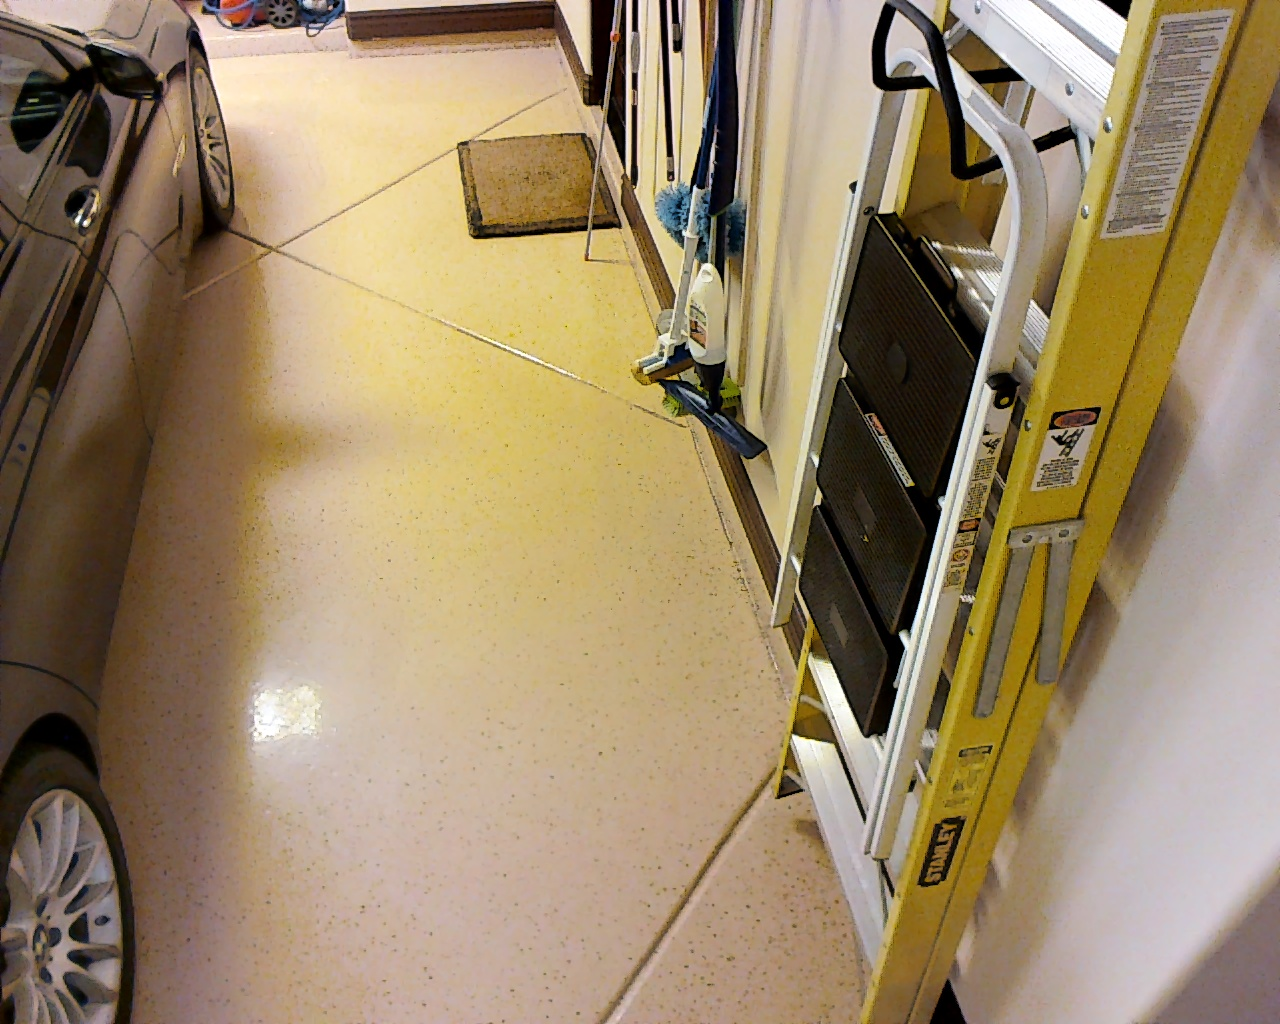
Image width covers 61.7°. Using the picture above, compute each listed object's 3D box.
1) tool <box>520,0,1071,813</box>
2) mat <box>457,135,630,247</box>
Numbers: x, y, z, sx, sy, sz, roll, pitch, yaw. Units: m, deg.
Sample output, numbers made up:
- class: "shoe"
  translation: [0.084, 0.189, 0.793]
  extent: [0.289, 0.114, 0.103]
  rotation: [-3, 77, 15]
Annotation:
- class: "tool"
  translation: [0.050, -0.990, 2.280]
  extent: [0.400, 2.170, 2.330]
  rotation: [-7, 44, -8]
- class: "mat"
  translation: [-0.430, -1.390, 4.580]
  extent: [0.640, 0.050, 0.820]
  rotation: [-7, 44, -8]
